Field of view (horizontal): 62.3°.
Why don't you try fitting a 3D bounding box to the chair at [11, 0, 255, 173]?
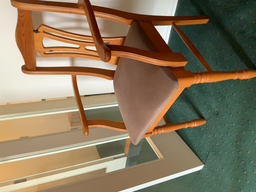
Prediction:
[{"bbox_3d":[-0.010,-0.120,0.990,0.550,0.880,0.570,115,141,-48],"label":"chair"}]
